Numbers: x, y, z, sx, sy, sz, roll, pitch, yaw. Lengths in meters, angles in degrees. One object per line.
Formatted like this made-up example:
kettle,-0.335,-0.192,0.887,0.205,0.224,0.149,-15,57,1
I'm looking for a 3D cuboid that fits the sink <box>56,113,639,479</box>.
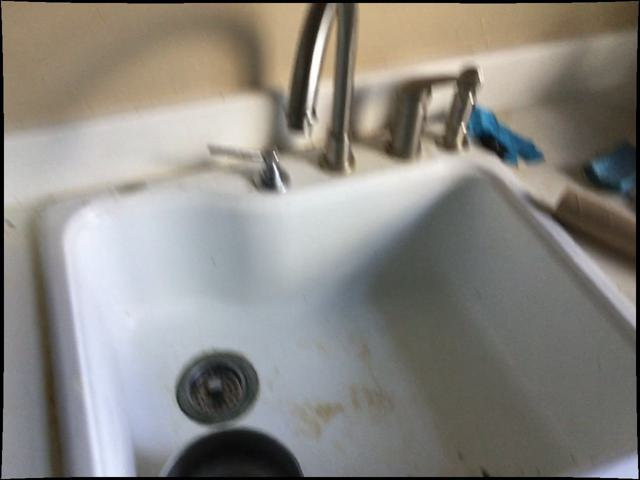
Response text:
sink,0.040,0.140,0.780,0.649,0.230,0.560,-15,49,-15
